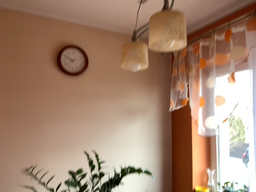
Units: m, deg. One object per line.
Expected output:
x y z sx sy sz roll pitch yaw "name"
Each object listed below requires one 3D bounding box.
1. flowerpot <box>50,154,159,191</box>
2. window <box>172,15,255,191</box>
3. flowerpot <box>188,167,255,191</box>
-0.250 0.920 1.740 0.690 0.690 0.790 2 -6 -24 "flowerpot"
0.820 0.260 1.920 0.270 1.590 0.980 4 -6 -26 "window"
0.930 0.920 2.030 0.410 0.310 0.550 4 -6 -26 "flowerpot"
